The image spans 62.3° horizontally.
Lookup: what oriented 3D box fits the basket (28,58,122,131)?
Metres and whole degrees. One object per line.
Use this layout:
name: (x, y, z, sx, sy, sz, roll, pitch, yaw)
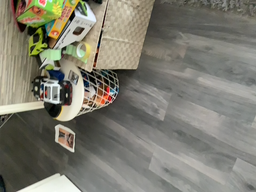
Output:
basket: (-0.370, -0.040, 1.510, 0.380, 0.470, 0.350, 24, 109, 31)
